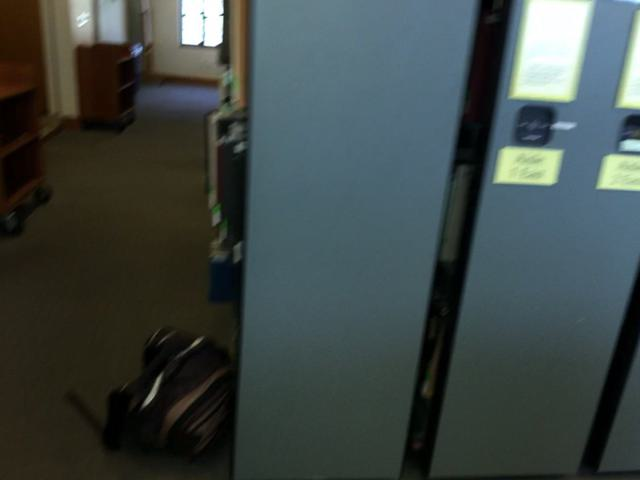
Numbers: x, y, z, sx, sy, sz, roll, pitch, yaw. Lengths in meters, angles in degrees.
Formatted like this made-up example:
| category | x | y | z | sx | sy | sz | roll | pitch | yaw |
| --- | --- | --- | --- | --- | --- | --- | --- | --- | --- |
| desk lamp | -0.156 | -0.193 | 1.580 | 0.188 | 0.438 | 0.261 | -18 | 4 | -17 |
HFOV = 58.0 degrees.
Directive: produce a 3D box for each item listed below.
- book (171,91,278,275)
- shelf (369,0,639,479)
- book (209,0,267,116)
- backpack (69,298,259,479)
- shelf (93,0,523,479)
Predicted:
| category | x | y | z | sx | sy | sz | roll | pitch | yaw |
| --- | --- | --- | --- | --- | --- | --- | --- | --- | --- |
| book | -0.290 | -0.240 | 1.890 | 0.260 | 0.430 | 0.860 | 0 | 17 | -7 |
| shelf | 0.630 | -0.190 | 1.860 | 0.690 | 1.860 | 0.830 | 0 | 17 | -7 |
| book | -0.210 | -0.530 | 1.520 | 0.130 | 0.360 | 0.410 | 0 | 17 | -7 |
| backpack | -0.470 | 0.490 | 1.780 | 0.430 | 0.440 | 0.370 | -12 | 22 | -37 |
| shelf | -0.100 | -0.320 | 2.020 | 0.930 | 1.930 | 1.370 | 0 | 17 | -7 |
